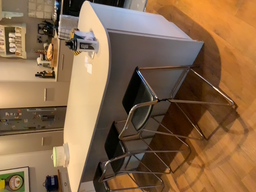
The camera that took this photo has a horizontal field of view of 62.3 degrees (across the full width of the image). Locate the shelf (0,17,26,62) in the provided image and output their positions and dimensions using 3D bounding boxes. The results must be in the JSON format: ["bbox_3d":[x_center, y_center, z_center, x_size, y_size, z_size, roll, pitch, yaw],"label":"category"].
[{"bbox_3d":[-2.150,-0.930,3.500,0.160,0.840,0.700,62,143,42],"label":"shelf"}]

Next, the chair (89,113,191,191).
[{"bbox_3d":[0.090,0.520,2.090,0.500,0.780,0.440,62,143,42],"label":"chair"}]

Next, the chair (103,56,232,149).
[{"bbox_3d":[0.280,0.030,1.710,0.510,0.780,0.440,62,143,42],"label":"chair"}]
